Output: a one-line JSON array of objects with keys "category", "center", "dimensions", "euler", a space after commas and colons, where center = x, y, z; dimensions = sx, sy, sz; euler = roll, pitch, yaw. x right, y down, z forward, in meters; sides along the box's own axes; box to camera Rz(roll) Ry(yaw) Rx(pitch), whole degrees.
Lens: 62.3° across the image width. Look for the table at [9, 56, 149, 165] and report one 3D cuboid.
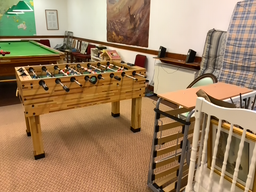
[{"category": "table", "center": [-0.620, 0.040, 2.750], "dimensions": [1.460, 0.930, 0.900], "euler": [-9, 22, -29]}]
